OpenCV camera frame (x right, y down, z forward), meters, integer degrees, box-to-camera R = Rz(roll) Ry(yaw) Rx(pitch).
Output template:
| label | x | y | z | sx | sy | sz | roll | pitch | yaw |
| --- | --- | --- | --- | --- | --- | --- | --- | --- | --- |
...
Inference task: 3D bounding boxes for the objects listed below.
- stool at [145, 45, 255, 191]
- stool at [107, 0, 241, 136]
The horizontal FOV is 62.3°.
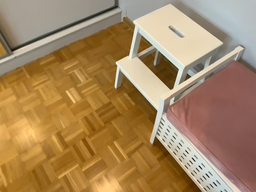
| label | x | y | z | sx | sy | sz | roll | pitch | yaw |
| --- | --- | --- | --- | --- | --- | --- | --- | --- | --- |
| stool | 0.590 | 0.330 | 0.920 | 0.520 | 0.460 | 0.940 | -30 | 63 | -20 |
| stool | 0.200 | -0.160 | 1.200 | 0.440 | 0.490 | 0.450 | -29 | 62 | -19 |
